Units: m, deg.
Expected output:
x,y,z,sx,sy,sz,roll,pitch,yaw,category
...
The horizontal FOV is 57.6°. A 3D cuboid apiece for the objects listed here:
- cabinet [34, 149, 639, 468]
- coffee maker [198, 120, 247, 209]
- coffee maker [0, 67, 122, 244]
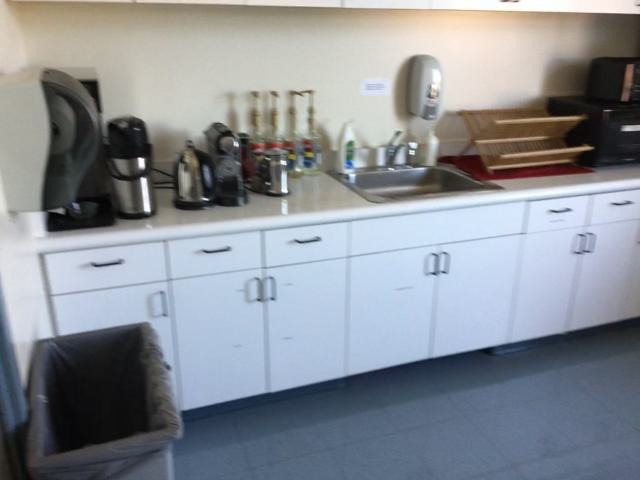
x,y,z,sx,sy,sz,roll,pitch,yaw,category
0.440,0.170,2.660,2.970,0.850,0.660,-6,22,-15,cabinet
-0.380,-0.300,2.250,0.130,0.270,0.310,-6,22,-15,coffee maker
-0.850,-0.310,1.980,0.260,0.490,0.470,-6,22,-15,coffee maker
